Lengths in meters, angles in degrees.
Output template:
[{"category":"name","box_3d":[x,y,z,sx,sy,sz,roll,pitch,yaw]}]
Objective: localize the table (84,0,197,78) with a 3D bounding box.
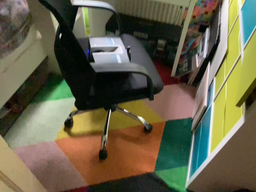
[{"category":"table","box_3d":[0.120,-0.690,1.740,0.750,0.740,0.570,15,51,8]}]
